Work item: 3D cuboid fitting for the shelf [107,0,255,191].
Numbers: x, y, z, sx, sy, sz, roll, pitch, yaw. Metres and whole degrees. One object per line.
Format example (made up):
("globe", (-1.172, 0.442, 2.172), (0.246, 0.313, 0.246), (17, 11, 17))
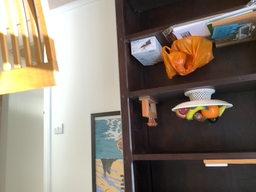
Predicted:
("shelf", (0.400, -0.160, 1.240), (0.920, 1.790, 0.400), (-8, 170, 22))
